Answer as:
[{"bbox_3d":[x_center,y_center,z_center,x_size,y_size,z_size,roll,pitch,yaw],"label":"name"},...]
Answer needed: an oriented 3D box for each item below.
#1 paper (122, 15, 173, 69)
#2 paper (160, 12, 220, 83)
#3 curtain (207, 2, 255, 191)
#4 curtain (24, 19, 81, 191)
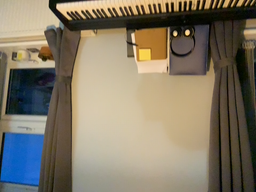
[{"bbox_3d":[0.130,-0.360,1.440,0.240,0.240,0.130,-31,161,12],"label":"paper"},{"bbox_3d":[0.400,-0.310,1.380,0.230,0.360,0.140,-26,162,14],"label":"paper"},{"bbox_3d":[0.620,0.180,1.290,0.230,1.480,0.190,0,172,14],"label":"curtain"},{"bbox_3d":[-0.530,0.160,1.510,0.240,1.400,0.160,1,172,11],"label":"curtain"}]
